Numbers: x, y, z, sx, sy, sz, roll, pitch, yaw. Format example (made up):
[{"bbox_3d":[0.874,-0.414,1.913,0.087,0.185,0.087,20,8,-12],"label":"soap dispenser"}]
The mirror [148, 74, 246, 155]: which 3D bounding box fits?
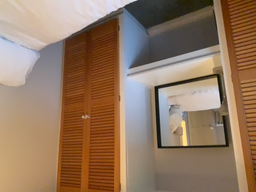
[{"bbox_3d":[0.620,0.210,2.090,0.860,0.710,0.090,-9,164,31],"label":"mirror"}]
